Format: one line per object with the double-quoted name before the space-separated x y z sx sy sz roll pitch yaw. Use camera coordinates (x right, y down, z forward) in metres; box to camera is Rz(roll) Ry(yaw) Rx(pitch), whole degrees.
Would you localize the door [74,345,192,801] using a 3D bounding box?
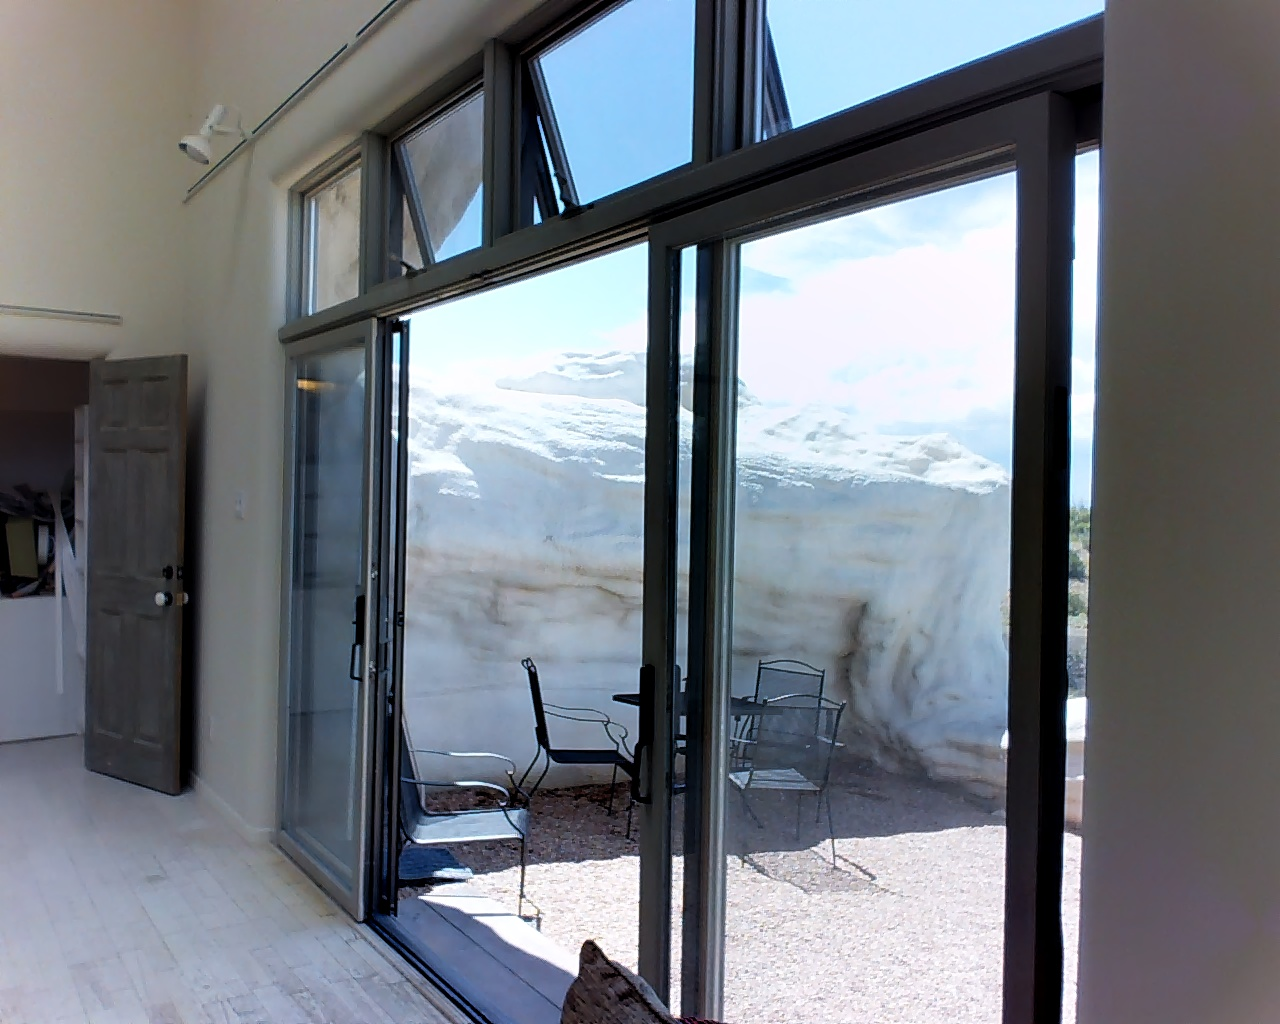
"door" -2.419 0.270 5.100 0.810 2.071 0.050 1 1 32
